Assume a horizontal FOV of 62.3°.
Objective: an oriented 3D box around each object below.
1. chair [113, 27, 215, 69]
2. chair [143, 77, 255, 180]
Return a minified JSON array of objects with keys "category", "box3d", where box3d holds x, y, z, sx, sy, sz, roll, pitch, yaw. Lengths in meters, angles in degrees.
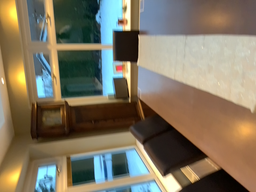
[{"category":"chair","box3d":[0.360,-0.540,2.350,0.560,0.950,0.380,-141,49,-68]},{"category":"chair","box3d":[0.630,0.190,1.590,0.360,0.960,0.550,-138,46,-67]}]
